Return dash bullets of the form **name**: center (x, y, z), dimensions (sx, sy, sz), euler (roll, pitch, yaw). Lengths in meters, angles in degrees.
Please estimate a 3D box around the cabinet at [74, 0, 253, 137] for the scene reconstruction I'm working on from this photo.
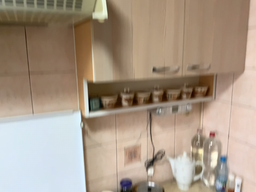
- **cabinet**: center (0.180, -0.370, 1.010), dimensions (0.800, 0.940, 0.300), euler (-6, 13, -25)

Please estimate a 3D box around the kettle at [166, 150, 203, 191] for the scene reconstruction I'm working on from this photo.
- **kettle**: center (0.360, 0.470, 1.360), dimensions (0.190, 0.170, 0.130), euler (-7, 13, -28)
